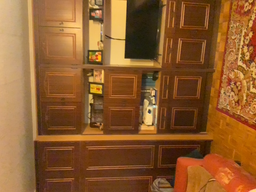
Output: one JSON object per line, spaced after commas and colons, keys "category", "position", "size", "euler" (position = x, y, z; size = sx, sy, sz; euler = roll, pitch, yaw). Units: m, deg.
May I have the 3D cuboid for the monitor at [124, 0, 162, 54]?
{"category": "monitor", "position": [0.190, -0.870, 2.710], "size": [0.060, 0.440, 0.630], "euler": [-117, 30, -74]}
